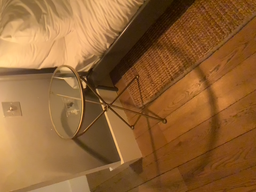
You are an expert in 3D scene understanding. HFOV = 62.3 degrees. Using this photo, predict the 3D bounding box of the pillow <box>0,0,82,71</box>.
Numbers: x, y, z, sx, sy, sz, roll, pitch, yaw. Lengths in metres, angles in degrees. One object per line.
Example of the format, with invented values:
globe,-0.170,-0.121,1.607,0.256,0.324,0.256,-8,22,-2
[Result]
pillow,-0.630,-0.520,1.260,0.200,0.430,0.650,-43,18,41
